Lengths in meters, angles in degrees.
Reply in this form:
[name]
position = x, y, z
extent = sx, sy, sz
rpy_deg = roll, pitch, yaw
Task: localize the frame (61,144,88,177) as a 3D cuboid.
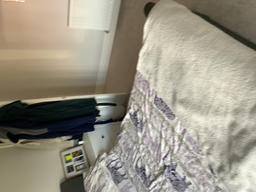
[frame]
position = -0.710, 0.840, 2.790
extent = 0.370, 0.320, 0.140
rpy_deg = -107, 25, -45
